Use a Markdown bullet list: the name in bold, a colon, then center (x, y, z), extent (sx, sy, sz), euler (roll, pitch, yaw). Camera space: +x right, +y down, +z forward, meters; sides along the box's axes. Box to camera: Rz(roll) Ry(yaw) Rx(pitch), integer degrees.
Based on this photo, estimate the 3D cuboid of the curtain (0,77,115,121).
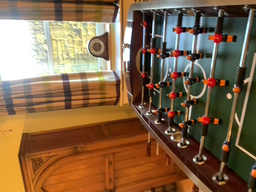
- **curtain**: center (-0.740, 0.020, 2.070), extent (0.130, 1.240, 0.280), euler (-137, 44, -62)
